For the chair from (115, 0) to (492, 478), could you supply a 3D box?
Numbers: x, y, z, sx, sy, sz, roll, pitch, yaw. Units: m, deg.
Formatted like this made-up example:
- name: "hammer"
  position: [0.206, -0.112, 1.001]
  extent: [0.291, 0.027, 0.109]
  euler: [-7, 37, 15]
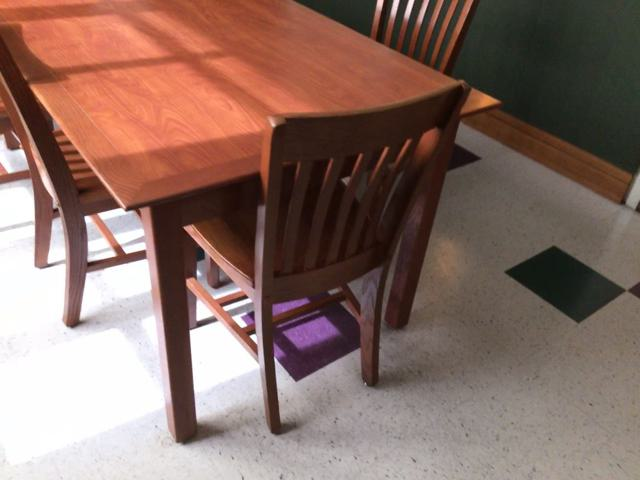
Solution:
- name: "chair"
  position: [-0.080, -0.010, 1.390]
  extent: [0.500, 0.890, 0.550]
  euler: [-22, 46, -32]

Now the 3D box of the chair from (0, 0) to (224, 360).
- name: "chair"
  position: [-0.640, -0.240, 1.610]
  extent: [0.530, 0.880, 0.520]
  euler: [-23, 46, -32]
